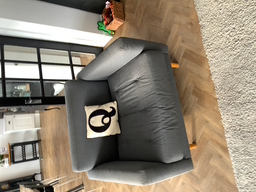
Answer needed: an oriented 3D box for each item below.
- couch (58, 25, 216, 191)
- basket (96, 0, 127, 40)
[{"bbox_3d":[-0.020,0.170,1.780,0.960,0.770,1.020,-22,74,53],"label":"couch"},{"bbox_3d":[-0.200,-0.910,2.510,0.350,0.170,0.320,-28,69,52],"label":"basket"}]
